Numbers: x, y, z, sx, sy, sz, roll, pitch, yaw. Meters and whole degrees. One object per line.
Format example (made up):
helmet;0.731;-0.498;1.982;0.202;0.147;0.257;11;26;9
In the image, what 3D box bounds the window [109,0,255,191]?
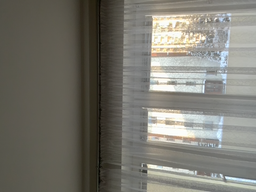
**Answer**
window;0.580;0.230;1.720;0.110;1.460;2.580;-19;-69;-75
